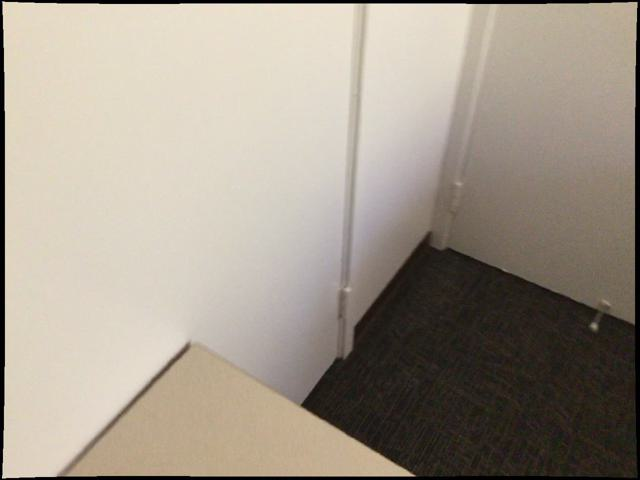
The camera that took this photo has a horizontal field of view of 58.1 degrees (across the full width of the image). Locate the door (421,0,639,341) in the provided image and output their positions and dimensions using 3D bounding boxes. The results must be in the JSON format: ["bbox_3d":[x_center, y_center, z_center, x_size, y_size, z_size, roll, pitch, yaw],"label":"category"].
[{"bbox_3d":[0.688,-0.261,1.270,0.849,1.182,0.080,24,50,24],"label":"door"}]

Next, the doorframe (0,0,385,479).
[{"bbox_3d":[-0.170,0.090,0.870,0.030,1.272,0.990,24,49,24],"label":"doorframe"}]

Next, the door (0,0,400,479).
[{"bbox_3d":[-0.130,0.080,0.890,0.070,1.262,0.850,24,49,24],"label":"door"}]

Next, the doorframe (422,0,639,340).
[{"bbox_3d":[0.708,-0.201,1.300,0.899,1.041,0.070,24,50,24],"label":"doorframe"}]
